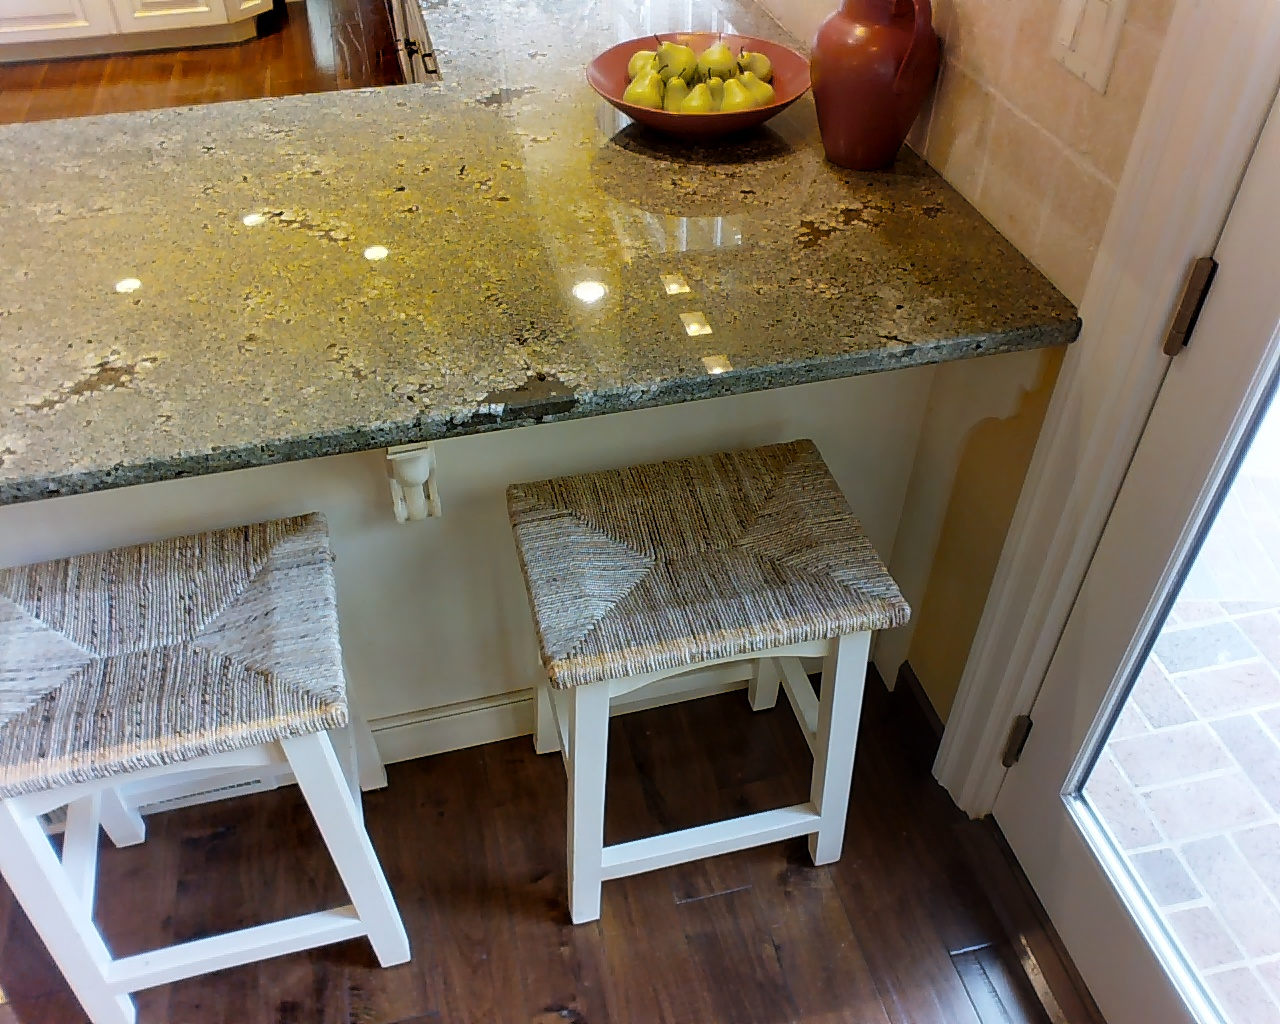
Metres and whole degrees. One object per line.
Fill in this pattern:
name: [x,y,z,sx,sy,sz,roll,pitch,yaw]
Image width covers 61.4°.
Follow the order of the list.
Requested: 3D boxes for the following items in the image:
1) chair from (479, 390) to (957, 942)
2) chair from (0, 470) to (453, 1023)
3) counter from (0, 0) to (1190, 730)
chair: [0.080,0.240,1.650,0.530,0.650,0.430,-10,43,-11]
chair: [-0.580,0.360,1.520,0.490,0.630,0.430,-11,44,-12]
counter: [-0.790,-1.230,2.450,1.810,0.490,3.730,-11,44,-11]
